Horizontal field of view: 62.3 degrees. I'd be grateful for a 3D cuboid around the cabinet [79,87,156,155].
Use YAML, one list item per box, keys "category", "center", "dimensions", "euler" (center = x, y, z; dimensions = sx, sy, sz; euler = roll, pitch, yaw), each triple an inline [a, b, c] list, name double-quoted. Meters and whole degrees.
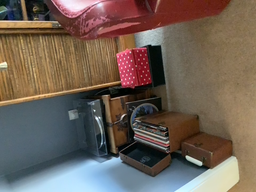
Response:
- category: "cabinet"
  center: [-0.100, 0.180, 1.870]
  dimensions: [0.450, 0.450, 0.440]
  euler: [1, 101, 54]
